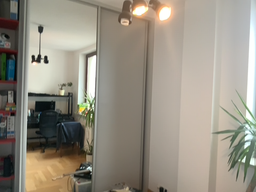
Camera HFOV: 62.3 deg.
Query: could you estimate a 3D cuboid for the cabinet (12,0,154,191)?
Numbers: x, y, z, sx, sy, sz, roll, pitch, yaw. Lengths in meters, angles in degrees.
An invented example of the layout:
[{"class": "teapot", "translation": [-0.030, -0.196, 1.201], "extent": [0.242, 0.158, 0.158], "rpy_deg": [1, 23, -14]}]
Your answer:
[{"class": "cabinet", "translation": [-0.580, 0.120, 3.010], "extent": [1.750, 2.650, 0.660], "rpy_deg": [1, 2, -34]}]
